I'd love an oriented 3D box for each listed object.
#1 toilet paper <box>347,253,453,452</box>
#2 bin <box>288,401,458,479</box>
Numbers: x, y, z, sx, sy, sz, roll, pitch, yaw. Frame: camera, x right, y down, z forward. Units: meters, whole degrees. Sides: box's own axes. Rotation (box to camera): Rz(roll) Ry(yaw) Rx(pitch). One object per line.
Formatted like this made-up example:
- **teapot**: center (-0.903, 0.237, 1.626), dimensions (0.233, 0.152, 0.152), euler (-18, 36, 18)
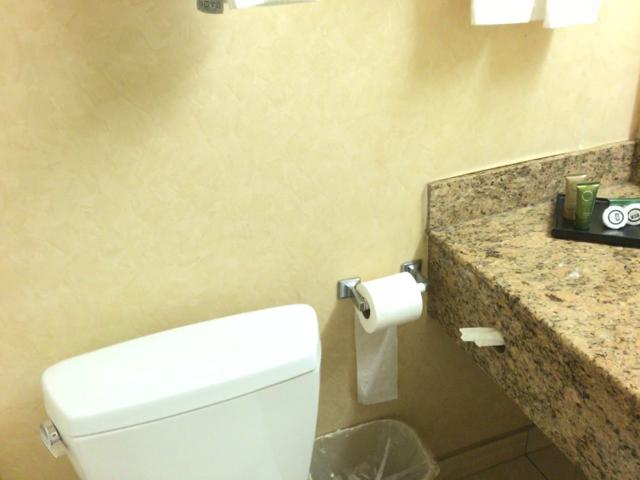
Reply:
- **toilet paper**: center (0.170, 0.250, 1.270), dimensions (0.180, 0.400, 0.120), euler (-12, 28, -18)
- **bin**: center (0.120, 0.620, 1.380), dimensions (0.320, 0.310, 0.220), euler (-12, 28, -18)
